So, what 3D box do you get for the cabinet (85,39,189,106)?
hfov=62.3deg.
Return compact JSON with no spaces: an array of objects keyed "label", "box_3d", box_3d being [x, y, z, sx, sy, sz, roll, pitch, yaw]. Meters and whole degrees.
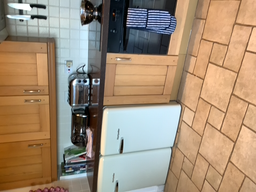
[{"label":"cabinet","box_3d":[0.050,-0.270,2.260,0.590,0.900,0.500,-131,43,-58]}]
